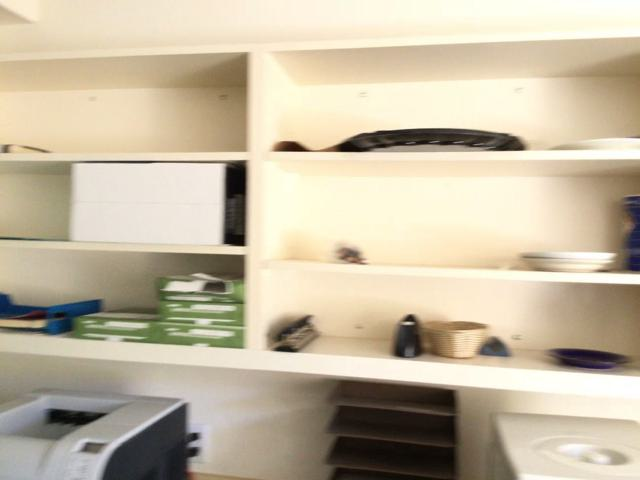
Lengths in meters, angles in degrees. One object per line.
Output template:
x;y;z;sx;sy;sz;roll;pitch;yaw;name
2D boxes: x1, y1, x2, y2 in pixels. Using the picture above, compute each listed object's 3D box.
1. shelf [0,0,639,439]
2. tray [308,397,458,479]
-0.090;-0.080;1.410;2.030;0.810;0.440;3;-1;13;shelf
0.160;0.620;1.440;0.340;0.370;0.220;3;-1;13;tray
